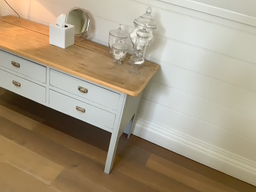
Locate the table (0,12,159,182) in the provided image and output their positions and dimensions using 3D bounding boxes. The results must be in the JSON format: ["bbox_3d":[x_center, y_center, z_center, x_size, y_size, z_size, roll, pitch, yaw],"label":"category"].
[{"bbox_3d":[-0.640,-0.090,1.850,1.540,0.790,0.650,22,29,12],"label":"table"}]
